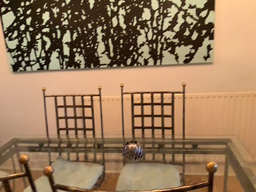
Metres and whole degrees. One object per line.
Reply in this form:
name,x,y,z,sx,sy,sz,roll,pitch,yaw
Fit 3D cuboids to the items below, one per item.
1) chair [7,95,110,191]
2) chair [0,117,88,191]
chair,-0.410,0.540,1.490,0.430,1.020,0.390,-1,16,10
chair,-0.460,0.670,1.050,0.410,1.020,0.460,-2,16,7
